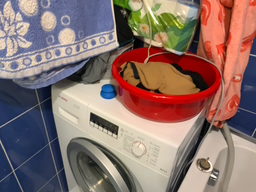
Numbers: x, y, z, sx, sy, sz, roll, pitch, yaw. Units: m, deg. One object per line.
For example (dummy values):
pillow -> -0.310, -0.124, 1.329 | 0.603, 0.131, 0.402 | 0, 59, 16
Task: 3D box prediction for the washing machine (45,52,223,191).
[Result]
washing machine -> 0.020, 0.300, 1.160 | 0.620, 0.830, 0.460 | 23, 40, 25
